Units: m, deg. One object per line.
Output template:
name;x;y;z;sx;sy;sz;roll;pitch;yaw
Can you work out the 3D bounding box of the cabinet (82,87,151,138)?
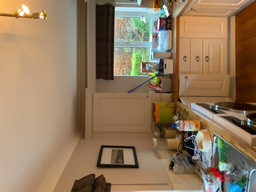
cabinet;-0.170;0.250;3.340;0.420;1.010;0.740;178;92;-87
